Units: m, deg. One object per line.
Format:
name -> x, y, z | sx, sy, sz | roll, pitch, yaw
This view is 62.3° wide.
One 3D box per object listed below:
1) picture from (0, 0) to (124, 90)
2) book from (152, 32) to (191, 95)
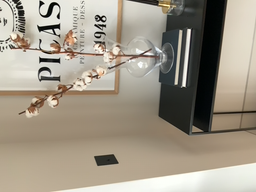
picture -> -0.410, -0.320, 0.910 | 0.030, 0.800, 0.590 | -154, 65, -70
book -> 0.200, -0.160, 1.030 | 0.230, 0.060, 0.270 | -147, 58, -68
